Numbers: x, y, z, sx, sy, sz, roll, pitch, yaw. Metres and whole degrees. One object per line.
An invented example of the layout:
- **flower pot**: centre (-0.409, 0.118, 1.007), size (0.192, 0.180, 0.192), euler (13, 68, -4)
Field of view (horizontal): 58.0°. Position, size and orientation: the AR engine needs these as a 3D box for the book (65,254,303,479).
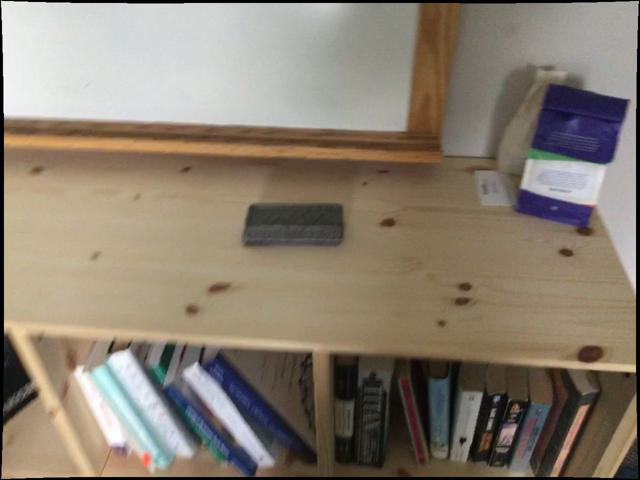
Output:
- **book**: centre (-0.180, 0.200, 0.900), size (0.269, 0.220, 0.260), euler (4, 41, 5)
